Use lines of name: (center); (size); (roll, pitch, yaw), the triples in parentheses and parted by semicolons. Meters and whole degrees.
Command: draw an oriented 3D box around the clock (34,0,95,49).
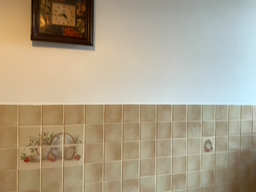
clock: (-0.310, -0.400, 1.050); (0.280, 0.300, 0.050); (1, 0, -18)
